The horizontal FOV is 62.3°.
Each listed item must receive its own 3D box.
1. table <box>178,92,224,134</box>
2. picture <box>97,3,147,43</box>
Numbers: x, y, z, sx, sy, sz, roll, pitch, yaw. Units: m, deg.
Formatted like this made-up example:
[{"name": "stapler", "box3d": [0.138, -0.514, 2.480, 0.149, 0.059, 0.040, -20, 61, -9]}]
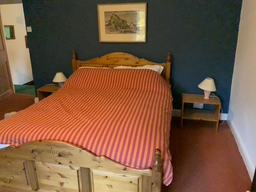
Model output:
[{"name": "table", "box3d": [1.070, 0.240, 3.220, 0.570, 0.430, 0.460, 4, 19, 12]}, {"name": "picture", "box3d": [-0.100, -1.130, 3.290, 0.760, 0.570, 0.030, 4, 19, 12]}]
